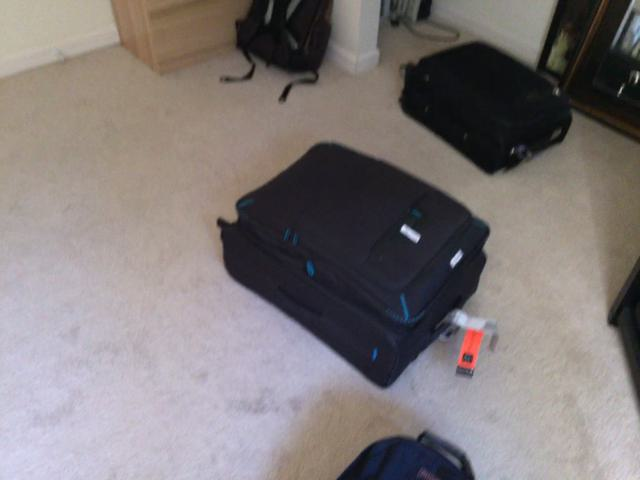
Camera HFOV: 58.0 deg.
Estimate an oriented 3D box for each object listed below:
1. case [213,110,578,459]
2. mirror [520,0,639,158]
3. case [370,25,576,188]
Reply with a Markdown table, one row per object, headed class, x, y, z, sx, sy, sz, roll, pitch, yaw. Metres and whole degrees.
| class | x | y | z | sx | sy | sz | roll | pitch | yaw |
| --- | --- | --- | --- | --- | --- | --- | --- | --- | --- |
| case | 0.150 | 0.060 | 1.580 | 0.500 | 0.380 | 0.800 | -28 | 55 | -34 |
| mirror | 1.230 | -0.840 | 1.990 | 0.250 | 1.030 | 0.690 | -28 | 55 | -34 |
| case | 0.560 | -0.530 | 2.200 | 0.390 | 0.280 | 0.590 | -28 | 55 | -34 |
